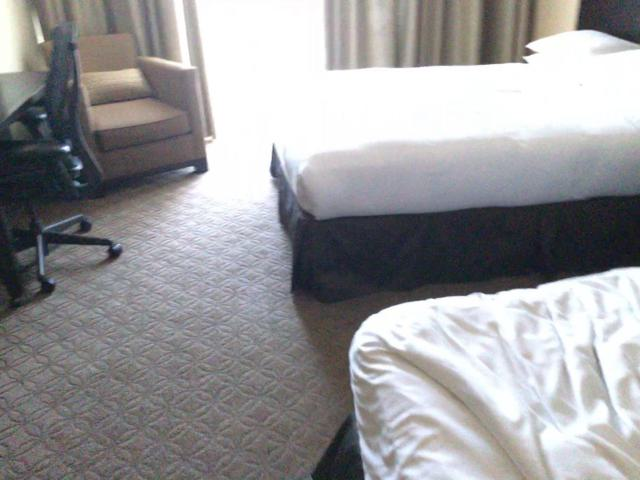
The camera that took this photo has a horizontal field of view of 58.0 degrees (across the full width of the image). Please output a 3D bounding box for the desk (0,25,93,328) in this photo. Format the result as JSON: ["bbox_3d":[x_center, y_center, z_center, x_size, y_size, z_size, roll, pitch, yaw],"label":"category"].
[{"bbox_3d":[-1.680,-0.380,2.700,0.750,1.000,1.410,-5,27,-8],"label":"desk"}]
